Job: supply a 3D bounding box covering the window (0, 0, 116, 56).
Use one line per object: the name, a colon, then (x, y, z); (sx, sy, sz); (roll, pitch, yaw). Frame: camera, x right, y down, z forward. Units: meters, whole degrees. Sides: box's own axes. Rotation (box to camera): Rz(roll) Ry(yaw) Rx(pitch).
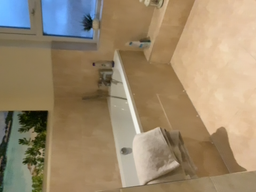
window: (-0.830, -0.780, 2.070); (0.670, 1.300, 0.310); (107, 156, -45)
